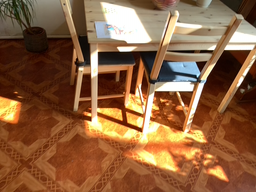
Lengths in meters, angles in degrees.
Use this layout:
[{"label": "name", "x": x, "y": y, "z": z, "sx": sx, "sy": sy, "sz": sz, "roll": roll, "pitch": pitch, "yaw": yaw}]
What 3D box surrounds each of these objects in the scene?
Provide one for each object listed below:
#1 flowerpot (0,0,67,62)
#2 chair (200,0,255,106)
[{"label": "flowerpot", "x": -0.940, "y": -0.930, "z": 2.050, "sx": 0.590, "sy": 1.110, "sz": 0.440, "roll": -4, "pitch": 45, "yaw": -14}, {"label": "chair", "x": 1.280, "y": -0.470, "z": 2.060, "sx": 0.600, "sy": 0.800, "sz": 0.740, "roll": -4, "pitch": 45, "yaw": -14}]
